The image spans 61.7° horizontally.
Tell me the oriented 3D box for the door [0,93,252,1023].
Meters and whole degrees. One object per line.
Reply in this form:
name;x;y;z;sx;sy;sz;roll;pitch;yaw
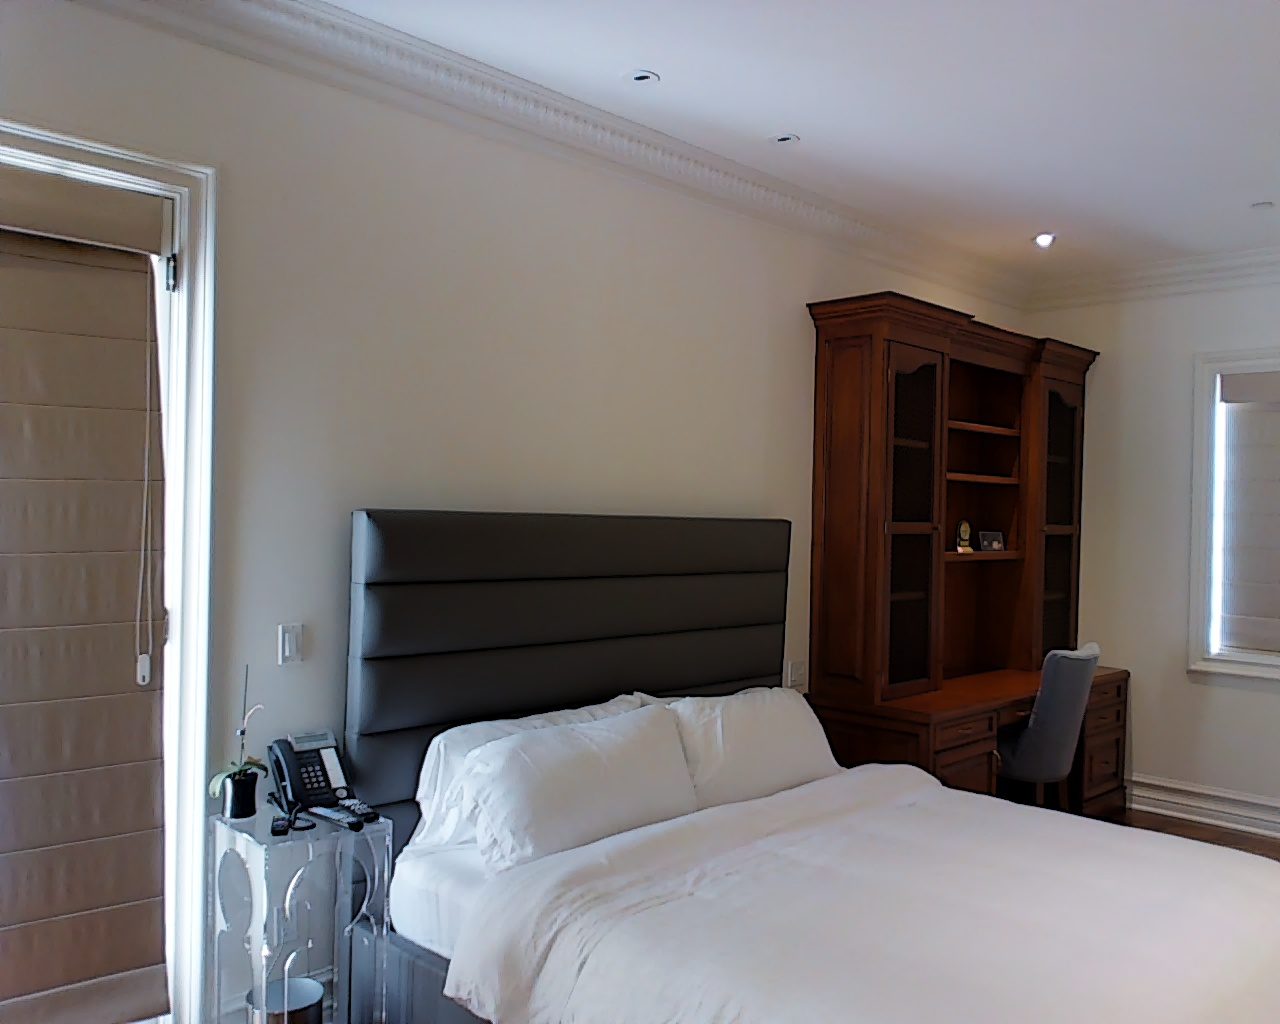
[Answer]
door;-1.750;0.290;2.330;0.210;2.511;1.750;1;0;43
